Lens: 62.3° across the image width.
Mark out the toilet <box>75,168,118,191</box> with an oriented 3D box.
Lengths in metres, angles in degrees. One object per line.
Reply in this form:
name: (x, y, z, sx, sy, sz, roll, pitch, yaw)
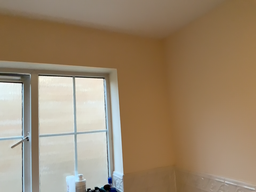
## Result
toilet: (-0.230, 0.650, 1.540, 0.270, 0.180, 0.150, 1, -8, -30)
